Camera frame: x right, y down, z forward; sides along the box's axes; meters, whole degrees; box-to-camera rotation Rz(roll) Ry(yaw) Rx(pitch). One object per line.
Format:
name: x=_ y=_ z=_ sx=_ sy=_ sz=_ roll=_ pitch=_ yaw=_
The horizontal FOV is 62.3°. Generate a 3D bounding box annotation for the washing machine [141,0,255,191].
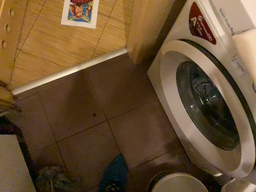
washing machine: x=0.470 y=-0.050 z=0.830 sx=0.550 sy=0.850 sz=0.590 roll=-21 pitch=82 yaw=-8
